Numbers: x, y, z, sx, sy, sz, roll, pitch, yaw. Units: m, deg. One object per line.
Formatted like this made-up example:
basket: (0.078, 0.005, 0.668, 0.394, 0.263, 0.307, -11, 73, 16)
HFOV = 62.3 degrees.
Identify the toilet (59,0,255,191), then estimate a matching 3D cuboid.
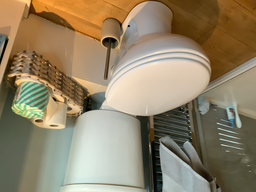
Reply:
toilet: (0.050, 0.000, 0.930, 0.400, 0.800, 0.690, 16, 149, -27)
